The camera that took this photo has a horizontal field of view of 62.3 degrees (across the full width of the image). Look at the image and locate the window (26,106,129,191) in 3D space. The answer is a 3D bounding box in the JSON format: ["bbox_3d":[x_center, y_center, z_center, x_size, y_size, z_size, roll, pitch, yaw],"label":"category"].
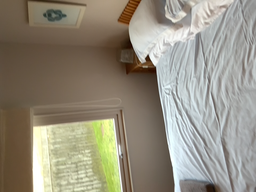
[{"bbox_3d":[-0.540,0.700,2.360,0.140,1.020,1.090,151,114,-64],"label":"window"}]

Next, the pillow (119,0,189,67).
[{"bbox_3d":[0.180,-0.580,1.880,0.700,0.250,0.430,149,115,-64],"label":"pillow"}]
